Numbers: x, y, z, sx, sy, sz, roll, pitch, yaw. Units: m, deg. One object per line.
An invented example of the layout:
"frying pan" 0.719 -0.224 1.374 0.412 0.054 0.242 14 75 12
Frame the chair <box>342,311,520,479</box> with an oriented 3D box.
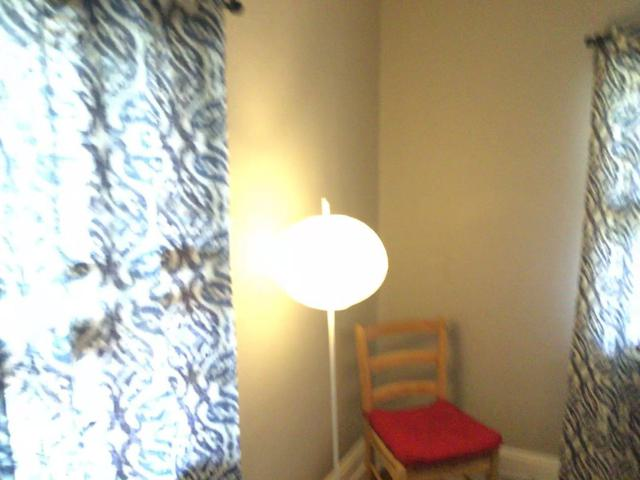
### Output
"chair" 0.420 0.800 2.370 0.460 0.840 0.620 -4 9 -17
